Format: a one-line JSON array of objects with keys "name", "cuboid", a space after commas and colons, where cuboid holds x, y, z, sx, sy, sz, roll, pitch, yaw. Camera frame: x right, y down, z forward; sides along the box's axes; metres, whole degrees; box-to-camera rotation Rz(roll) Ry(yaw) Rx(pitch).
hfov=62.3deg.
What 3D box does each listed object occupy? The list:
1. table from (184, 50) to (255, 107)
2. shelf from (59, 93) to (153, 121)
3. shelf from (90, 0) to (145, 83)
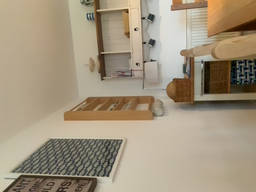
[{"name": "table", "cuboid": [1.070, -0.210, 2.280, 0.610, 0.830, 0.520, -54, -38, -76]}, {"name": "shelf", "cuboid": [-0.170, 0.100, 2.280, 0.730, 0.860, 0.100, -58, -34, -74]}, {"name": "shelf", "cuboid": [-0.120, -0.790, 2.680, 0.190, 0.610, 1.230, -53, -39, -76]}]
